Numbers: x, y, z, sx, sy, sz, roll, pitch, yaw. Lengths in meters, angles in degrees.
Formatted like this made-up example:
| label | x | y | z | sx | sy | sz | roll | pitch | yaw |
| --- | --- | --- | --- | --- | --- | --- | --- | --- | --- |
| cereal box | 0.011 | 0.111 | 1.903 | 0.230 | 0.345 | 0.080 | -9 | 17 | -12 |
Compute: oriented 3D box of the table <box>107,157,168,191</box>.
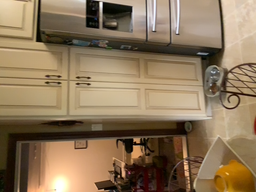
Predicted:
| label | x | y | z | sx | sy | sz | roll | pitch | yaw |
| --- | --- | --- | --- | --- | --- | --- | --- | --- | --- |
| table | 0.140 | 1.810 | 4.780 | 1.390 | 0.940 | 0.600 | 156 | 114 | -71 |
